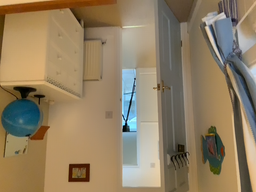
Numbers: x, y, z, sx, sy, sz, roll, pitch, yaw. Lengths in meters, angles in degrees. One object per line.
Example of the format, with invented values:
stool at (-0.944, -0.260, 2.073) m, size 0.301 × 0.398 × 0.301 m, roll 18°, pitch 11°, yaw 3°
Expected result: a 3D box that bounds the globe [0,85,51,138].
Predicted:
globe at (-0.870, 0.140, 1.740) m, size 0.310 × 0.390 × 0.340 m, roll -1°, pitch 171°, yaw 4°
